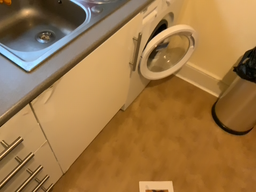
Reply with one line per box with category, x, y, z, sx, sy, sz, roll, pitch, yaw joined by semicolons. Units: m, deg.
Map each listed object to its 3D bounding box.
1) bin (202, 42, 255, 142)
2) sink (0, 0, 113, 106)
bin;0.820;-0.020;1.420;0.310;0.680;0.270;32;57;15
sink;-0.390;-0.270;0.850;0.510;0.170;0.410;30;56;14
